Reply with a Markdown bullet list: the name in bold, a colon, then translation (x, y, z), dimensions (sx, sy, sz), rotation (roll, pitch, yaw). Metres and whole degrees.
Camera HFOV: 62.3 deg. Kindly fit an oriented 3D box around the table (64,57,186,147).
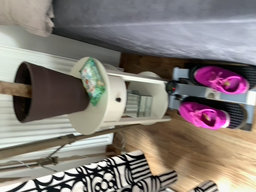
- **table**: translation (0.000, 0.020, 1.290), dimensions (0.370, 0.600, 0.380), rotation (17, 100, 44)
